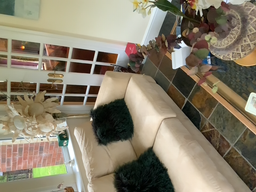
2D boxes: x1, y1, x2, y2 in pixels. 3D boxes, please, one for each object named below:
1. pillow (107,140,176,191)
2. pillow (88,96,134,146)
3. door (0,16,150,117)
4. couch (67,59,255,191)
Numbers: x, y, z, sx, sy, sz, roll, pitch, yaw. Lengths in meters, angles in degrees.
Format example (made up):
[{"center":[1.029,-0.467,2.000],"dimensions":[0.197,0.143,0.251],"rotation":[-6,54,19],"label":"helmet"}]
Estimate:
[{"center":[0.120,0.730,1.850],"dimensions":[0.500,0.360,0.290],"rotation":[51,165,41],"label":"pillow"},{"center":[-0.190,0.260,2.320],"dimensions":[0.410,0.350,0.190],"rotation":[54,159,40],"label":"pillow"},{"center":[-0.840,-0.270,2.880],"dimensions":[0.230,2.100,1.230],"rotation":[56,135,46],"label":"door"},{"center":[0.250,0.800,1.770],"dimensions":[2.450,0.900,1.080],"rotation":[58,136,45],"label":"couch"}]
